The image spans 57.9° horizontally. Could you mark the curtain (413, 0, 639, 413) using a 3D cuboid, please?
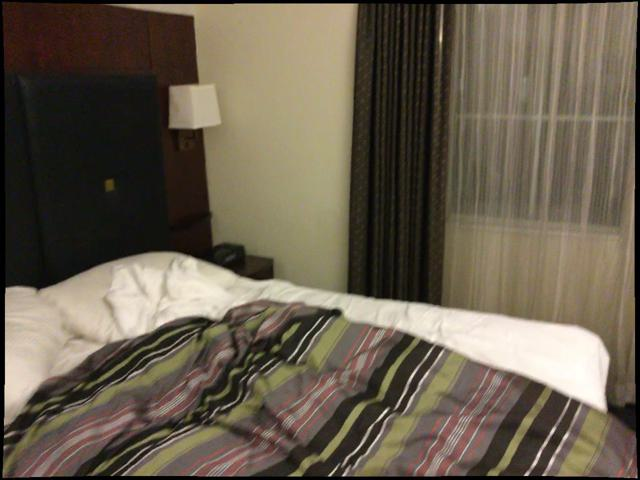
[{"bbox_3d":[1.309,-0.350,2.570,1.659,2.302,0.210,8,18,23],"label":"curtain"}]

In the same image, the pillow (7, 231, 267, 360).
[{"bbox_3d":[-0.669,0.170,2.280,0.619,0.160,0.760,8,18,23],"label":"pillow"}]

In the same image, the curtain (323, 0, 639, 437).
[{"bbox_3d":[1.229,-0.290,2.430,2.488,2.232,0.340,8,18,23],"label":"curtain"}]

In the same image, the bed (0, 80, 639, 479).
[{"bbox_3d":[-0.060,0.320,1.740,2.428,1.481,1.740,8,18,23],"label":"bed"}]
